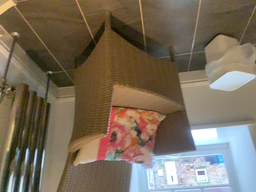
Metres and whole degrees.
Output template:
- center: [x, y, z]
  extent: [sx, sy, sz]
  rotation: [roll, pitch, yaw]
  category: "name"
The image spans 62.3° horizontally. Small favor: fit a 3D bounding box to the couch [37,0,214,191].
- center: [-0.050, 0.100, 1.220]
  extent: [0.620, 0.850, 0.610]
  rotation: [17, 147, -34]
  category: "couch"
